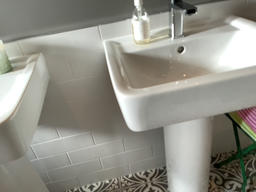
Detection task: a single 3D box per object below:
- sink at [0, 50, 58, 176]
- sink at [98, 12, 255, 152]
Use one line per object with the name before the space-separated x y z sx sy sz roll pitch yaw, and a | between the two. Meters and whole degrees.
sink | -0.540 0.060 0.640 0.570 0.150 0.430 -12 33 -5
sink | 0.210 -0.100 0.700 0.560 0.160 0.440 -12 33 -5
